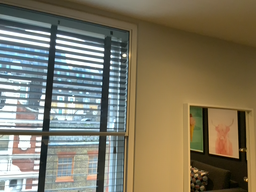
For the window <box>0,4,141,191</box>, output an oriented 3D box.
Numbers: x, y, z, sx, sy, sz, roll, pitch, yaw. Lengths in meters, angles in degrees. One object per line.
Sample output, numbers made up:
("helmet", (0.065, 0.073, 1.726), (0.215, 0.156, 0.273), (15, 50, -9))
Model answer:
("window", (-0.520, 0.290, 1.360), (1.200, 1.630, 0.170), (5, -8, -21))
